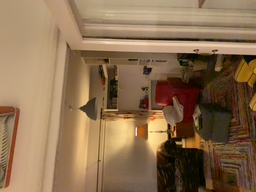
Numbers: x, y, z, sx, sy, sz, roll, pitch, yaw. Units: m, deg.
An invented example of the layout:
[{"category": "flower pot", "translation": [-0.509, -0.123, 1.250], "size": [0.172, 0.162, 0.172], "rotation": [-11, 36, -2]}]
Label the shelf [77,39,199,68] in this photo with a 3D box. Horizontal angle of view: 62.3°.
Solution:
[{"category": "shelf", "translation": [0.210, -0.890, 4.500], "size": [0.380, 2.470, 0.400], "rotation": [97, 174, -74]}]
